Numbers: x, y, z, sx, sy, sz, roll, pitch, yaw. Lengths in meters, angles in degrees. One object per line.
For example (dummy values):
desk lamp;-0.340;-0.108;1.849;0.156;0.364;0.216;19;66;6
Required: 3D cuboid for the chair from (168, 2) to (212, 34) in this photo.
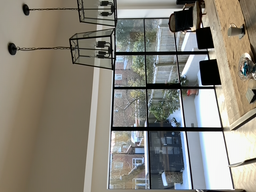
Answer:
chair;1.400;-1.790;4.930;0.680;0.790;0.560;-89;0;-82
